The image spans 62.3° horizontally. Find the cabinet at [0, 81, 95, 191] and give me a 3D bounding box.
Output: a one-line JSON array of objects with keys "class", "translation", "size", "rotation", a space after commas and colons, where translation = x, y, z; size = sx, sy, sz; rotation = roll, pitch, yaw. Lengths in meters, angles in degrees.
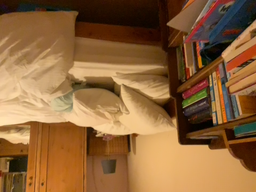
[{"class": "cabinet", "translation": [-1.380, 0.940, 2.650], "size": [1.890, 2.180, 0.520], "rotation": [1, 164, -13]}]
